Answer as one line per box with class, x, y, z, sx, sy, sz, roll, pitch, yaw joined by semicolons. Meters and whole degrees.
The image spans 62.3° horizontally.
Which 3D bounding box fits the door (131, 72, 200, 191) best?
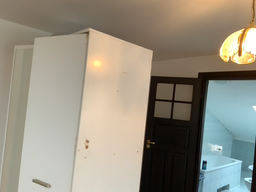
door;0.540;0.660;3.190;0.820;1.950;0.150;6;-1;6
